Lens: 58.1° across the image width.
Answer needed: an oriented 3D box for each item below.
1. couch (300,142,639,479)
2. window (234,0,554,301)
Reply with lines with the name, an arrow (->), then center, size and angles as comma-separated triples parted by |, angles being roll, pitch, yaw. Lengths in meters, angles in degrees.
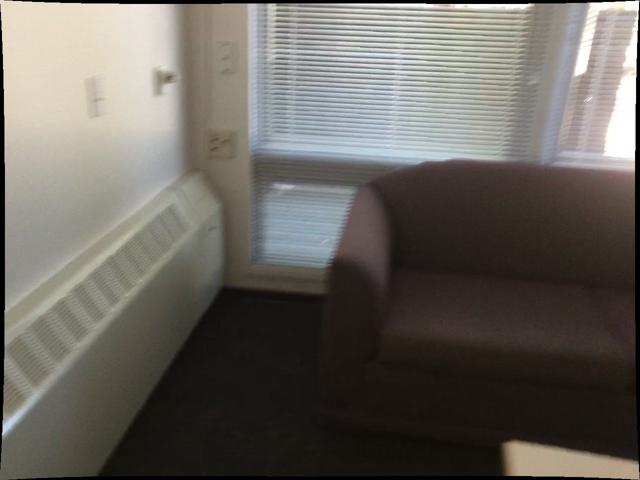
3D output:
couch -> 0.928, 0.210, 2.060 | 1.837, 0.761, 0.940 | 6, 23, 6
window -> 0.260, -0.761, 2.300 | 1.158, 1.983, 0.280 | 6, 23, 6
